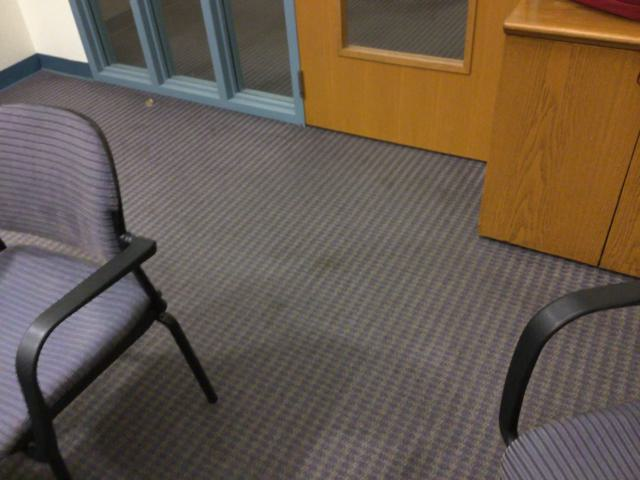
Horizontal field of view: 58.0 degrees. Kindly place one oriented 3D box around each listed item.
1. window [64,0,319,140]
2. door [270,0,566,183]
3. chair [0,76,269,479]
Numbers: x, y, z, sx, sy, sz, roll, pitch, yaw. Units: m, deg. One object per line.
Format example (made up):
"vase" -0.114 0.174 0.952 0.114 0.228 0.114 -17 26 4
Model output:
"window" -0.610 -0.980 2.620 1.140 0.770 0.330 18 46 25
"door" 0.280 -1.020 1.900 1.050 1.630 0.170 18 46 25
"chair" -0.570 0.190 1.210 0.590 0.780 0.590 18 46 25
